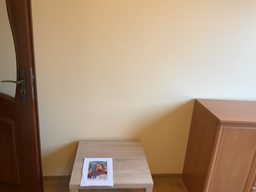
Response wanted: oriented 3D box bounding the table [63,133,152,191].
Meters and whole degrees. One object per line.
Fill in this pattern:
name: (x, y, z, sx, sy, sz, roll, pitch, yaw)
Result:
table: (-0.160, 0.660, 1.710, 0.570, 0.460, 0.590, 3, 20, -5)
